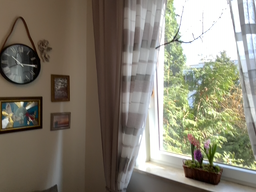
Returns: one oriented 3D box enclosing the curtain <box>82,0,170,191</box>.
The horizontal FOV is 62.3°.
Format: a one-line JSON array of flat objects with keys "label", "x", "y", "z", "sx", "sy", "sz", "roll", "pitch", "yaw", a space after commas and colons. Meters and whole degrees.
[{"label": "curtain", "x": -0.040, "y": -0.220, "z": 1.750, "sx": 0.690, "sy": 2.330, "sz": 0.260, "roll": 2, "pitch": 2, "yaw": 39}]
